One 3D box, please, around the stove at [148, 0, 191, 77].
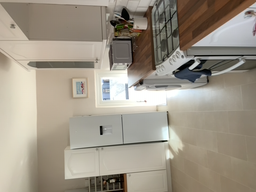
[{"bbox_3d":[0.300,-0.520,1.680,0.570,0.090,0.660,160,108,-79],"label":"stove"}]
